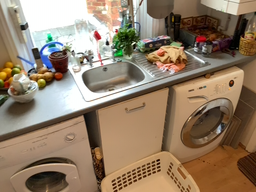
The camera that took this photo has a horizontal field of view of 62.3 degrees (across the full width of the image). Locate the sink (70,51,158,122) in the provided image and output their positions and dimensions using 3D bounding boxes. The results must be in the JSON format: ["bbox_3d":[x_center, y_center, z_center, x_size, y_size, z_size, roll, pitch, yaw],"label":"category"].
[{"bbox_3d":[-0.110,-0.100,1.530,0.480,0.190,0.440,-18,41,-20],"label":"sink"}]
